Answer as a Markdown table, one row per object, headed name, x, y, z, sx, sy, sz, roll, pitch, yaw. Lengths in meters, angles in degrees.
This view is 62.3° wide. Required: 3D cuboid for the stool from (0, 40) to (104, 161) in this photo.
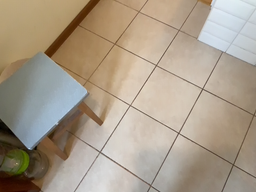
| name | x | y | z | sx | sy | sz | roll | pitch | yaw |
| --- | --- | --- | --- | --- | --- | --- | --- | --- | --- |
| stool | -0.370 | 0.060 | 1.030 | 0.300 | 0.460 | 0.340 | 39 | 74 | 15 |
